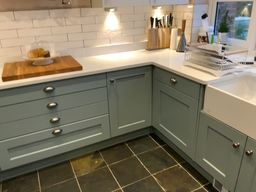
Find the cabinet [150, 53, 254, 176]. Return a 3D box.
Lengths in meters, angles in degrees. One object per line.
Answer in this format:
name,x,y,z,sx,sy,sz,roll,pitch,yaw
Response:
cabinet,0.640,0.120,2.070,0.550,0.900,0.670,-13,27,-24
